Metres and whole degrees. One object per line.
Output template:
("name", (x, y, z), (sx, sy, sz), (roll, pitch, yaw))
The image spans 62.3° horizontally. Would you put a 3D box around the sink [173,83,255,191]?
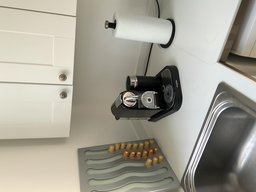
("sink", (0.420, 0.300, 0.700), (0.460, 0.210, 0.530), (-120, 38, -57))
